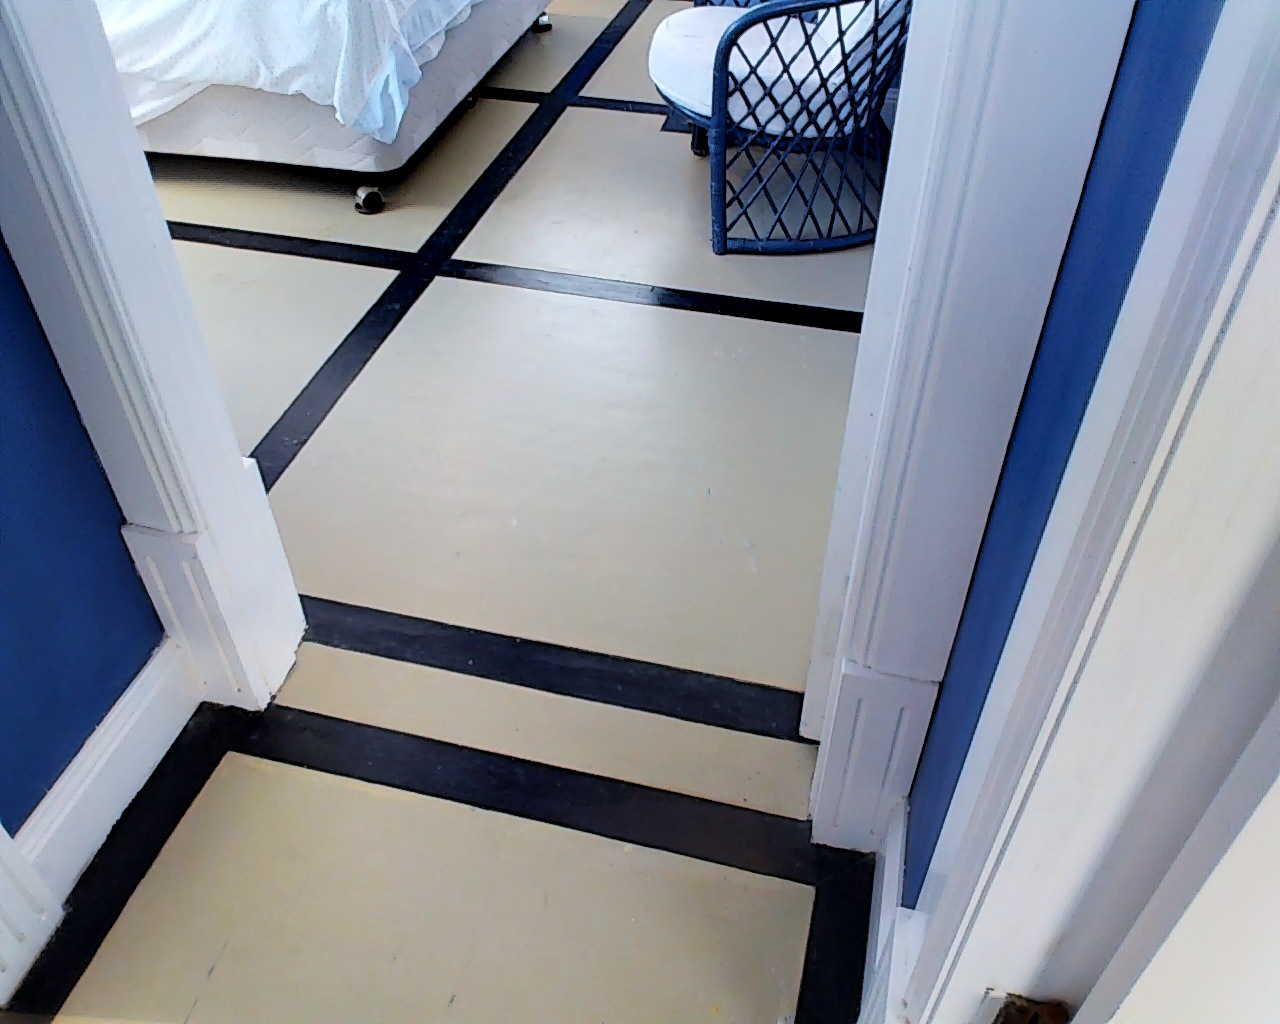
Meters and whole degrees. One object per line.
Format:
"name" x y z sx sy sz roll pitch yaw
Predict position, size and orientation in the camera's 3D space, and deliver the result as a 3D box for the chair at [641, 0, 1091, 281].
"chair" 0.460 -1.080 2.610 0.900 0.730 0.750 1 41 1
